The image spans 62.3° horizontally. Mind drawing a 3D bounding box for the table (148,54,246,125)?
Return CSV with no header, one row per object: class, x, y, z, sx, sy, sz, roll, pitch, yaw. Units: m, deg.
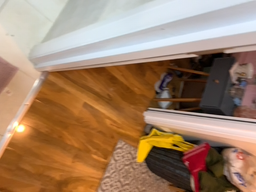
table,0.570,-0.060,1.810,0.270,0.640,0.450,39,68,-37
